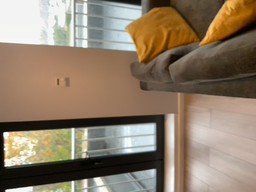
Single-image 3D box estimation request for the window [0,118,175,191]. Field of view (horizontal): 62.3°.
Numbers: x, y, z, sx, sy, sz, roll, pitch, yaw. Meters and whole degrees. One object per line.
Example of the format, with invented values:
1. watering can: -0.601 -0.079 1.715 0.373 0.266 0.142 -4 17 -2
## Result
1. window: -0.400 0.860 2.400 0.120 2.080 1.120 -173 83 -69
